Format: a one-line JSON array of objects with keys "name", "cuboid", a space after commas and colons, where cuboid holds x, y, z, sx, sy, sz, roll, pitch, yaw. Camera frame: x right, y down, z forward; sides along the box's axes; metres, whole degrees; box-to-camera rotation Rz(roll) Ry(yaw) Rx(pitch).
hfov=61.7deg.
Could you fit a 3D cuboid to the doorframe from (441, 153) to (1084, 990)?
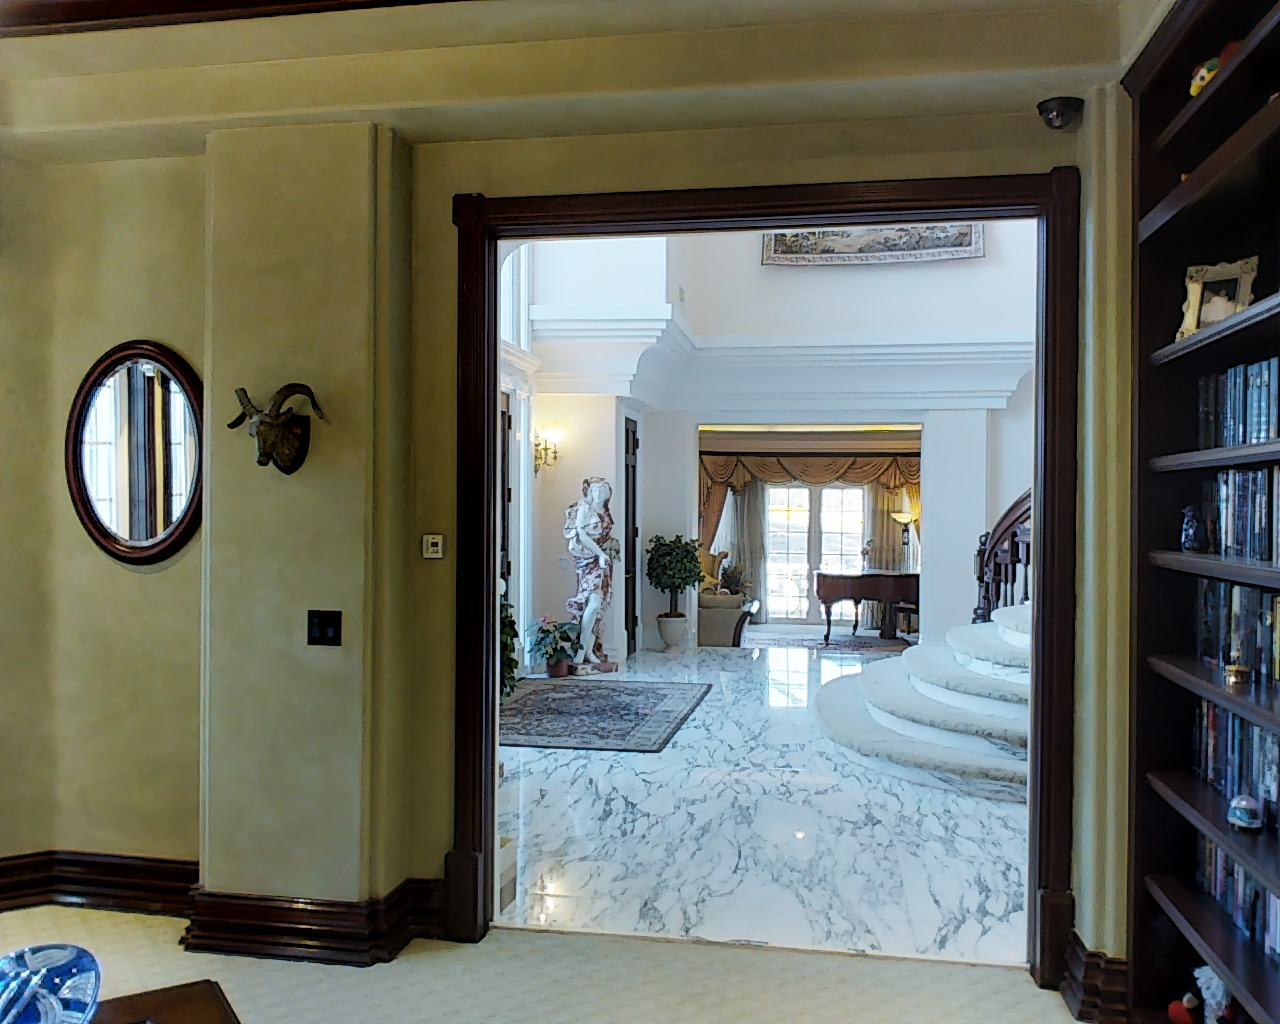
[{"name": "doorframe", "cuboid": [0.360, 0.170, 3.530, 2.020, 2.540, 0.220, 1, 0, 10]}]
